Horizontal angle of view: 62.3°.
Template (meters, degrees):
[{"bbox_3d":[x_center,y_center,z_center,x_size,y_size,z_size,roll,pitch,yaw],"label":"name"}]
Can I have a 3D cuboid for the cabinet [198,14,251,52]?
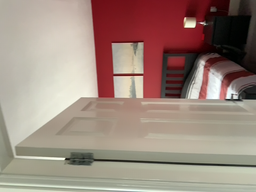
[{"bbox_3d":[1.480,-1.010,3.350,0.550,0.540,0.500,-81,-8,-66],"label":"cabinet"}]
